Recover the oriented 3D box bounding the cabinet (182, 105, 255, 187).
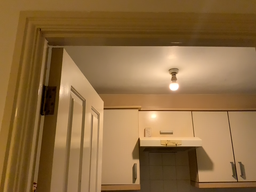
[{"bbox_3d":[1.060,0.540,2.350,0.780,0.830,0.300,0,-17,-2],"label":"cabinet"}]
